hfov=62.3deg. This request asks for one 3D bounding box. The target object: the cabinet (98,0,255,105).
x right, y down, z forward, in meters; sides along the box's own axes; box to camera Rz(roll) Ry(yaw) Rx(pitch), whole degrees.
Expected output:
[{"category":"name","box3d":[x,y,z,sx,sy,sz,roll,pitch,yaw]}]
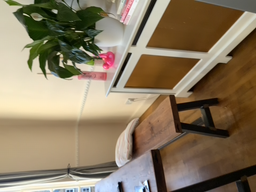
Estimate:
[{"category":"cabinet","box3d":[0.310,-0.390,1.650,1.390,0.820,0.370,125,143,-57]}]

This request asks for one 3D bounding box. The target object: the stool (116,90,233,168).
[{"category":"stool","box3d":[0.300,0.420,2.110,1.380,0.470,0.360,126,142,-58]}]

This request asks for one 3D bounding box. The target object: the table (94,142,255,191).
[{"category":"table","box3d":[0.260,1.030,1.710,1.660,0.760,0.900,126,142,-58]}]
